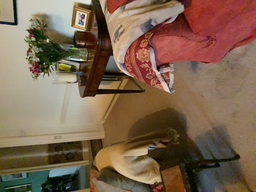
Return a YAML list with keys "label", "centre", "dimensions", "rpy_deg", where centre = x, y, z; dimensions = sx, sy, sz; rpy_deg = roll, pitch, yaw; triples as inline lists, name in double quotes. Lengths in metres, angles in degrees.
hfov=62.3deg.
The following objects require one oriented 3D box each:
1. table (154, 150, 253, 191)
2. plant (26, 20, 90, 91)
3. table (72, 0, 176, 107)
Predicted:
- label: "table"
  centre: [0.460, 0.540, 1.310]
  dimensions: [0.280, 0.460, 0.300]
  rpy_deg: [133, 132, -56]
- label: "plant"
  centre: [-0.710, -0.370, 2.080]
  dimensions: [0.490, 0.510, 0.440]
  rpy_deg: [119, 142, -48]
- label: "table"
  centre: [-0.130, -0.380, 2.320]
  dimensions: [1.070, 0.740, 0.480]
  rpy_deg: [121, 141, -49]
